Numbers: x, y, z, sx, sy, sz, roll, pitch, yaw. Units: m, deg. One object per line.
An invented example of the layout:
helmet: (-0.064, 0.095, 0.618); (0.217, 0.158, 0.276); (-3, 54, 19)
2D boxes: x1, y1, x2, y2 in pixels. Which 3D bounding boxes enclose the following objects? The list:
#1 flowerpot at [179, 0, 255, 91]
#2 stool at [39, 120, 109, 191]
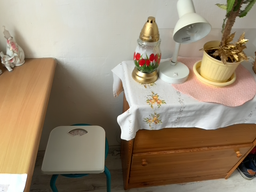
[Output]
flowerpot: (0.390, -0.350, 0.780); (0.200, 0.670, 0.240); (-1, 43, -6)
stool: (-0.250, 0.390, 1.160); (0.290, 0.480, 0.270); (0, 43, -5)
